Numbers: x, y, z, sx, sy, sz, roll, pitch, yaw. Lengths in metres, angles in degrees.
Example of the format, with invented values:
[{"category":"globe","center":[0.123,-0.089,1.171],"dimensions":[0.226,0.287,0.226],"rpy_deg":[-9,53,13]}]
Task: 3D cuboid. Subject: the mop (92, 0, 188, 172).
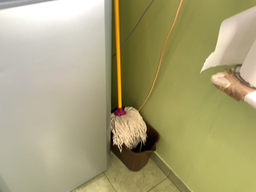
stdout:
[{"category":"mop","center":[0.000,-0.070,1.050],"dimensions":[0.180,1.050,0.340],"rpy_deg":[-23,49,-28]}]
